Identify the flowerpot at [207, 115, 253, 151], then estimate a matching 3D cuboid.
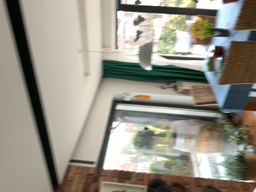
[{"bbox_3d":[1.710,0.600,3.670,0.950,0.330,0.350,-66,-20,-83],"label":"flowerpot"}]
